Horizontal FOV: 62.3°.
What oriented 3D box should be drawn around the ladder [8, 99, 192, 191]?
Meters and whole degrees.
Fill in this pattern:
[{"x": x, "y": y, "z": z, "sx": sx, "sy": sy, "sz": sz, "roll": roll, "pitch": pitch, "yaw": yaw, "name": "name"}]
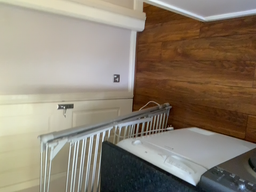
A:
[{"x": -0.130, "y": 0.490, "z": 1.600, "sx": 0.460, "sy": 1.280, "sz": 0.820, "roll": 12, "pitch": 101, "yaw": 50, "name": "ladder"}]
